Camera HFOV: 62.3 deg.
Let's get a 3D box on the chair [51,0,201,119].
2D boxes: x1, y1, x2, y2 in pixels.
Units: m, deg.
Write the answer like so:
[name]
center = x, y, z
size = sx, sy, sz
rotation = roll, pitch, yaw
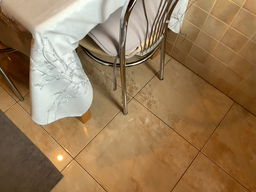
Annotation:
[chair]
center = -0.010, -0.300, 0.890
size = 0.380, 0.830, 0.400
rotation = 42, 70, 15
